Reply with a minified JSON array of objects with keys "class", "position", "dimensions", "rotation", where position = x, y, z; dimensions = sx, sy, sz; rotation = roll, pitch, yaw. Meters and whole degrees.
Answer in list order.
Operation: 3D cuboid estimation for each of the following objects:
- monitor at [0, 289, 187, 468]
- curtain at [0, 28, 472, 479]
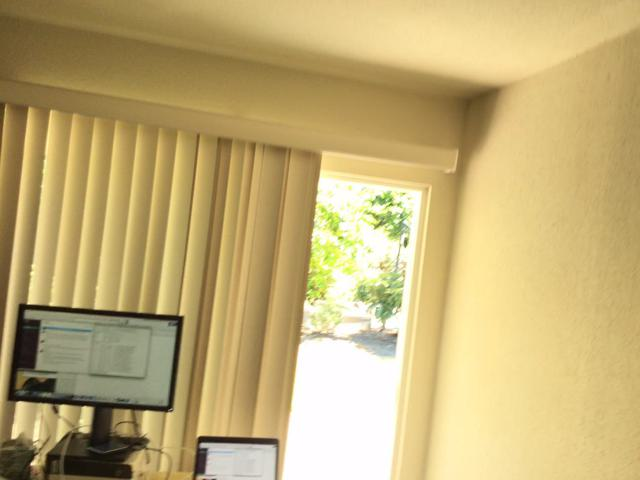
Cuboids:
[{"class":"monitor","position":[-0.780,0.470,2.020],"dimensions":[0.520,0.520,0.300],"rotation":[9,-5,-16]},{"class":"curtain","position":[-0.510,0.510,2.310],"dimensions":[2.060,2.250,0.310],"rotation":[9,-5,-16]}]
